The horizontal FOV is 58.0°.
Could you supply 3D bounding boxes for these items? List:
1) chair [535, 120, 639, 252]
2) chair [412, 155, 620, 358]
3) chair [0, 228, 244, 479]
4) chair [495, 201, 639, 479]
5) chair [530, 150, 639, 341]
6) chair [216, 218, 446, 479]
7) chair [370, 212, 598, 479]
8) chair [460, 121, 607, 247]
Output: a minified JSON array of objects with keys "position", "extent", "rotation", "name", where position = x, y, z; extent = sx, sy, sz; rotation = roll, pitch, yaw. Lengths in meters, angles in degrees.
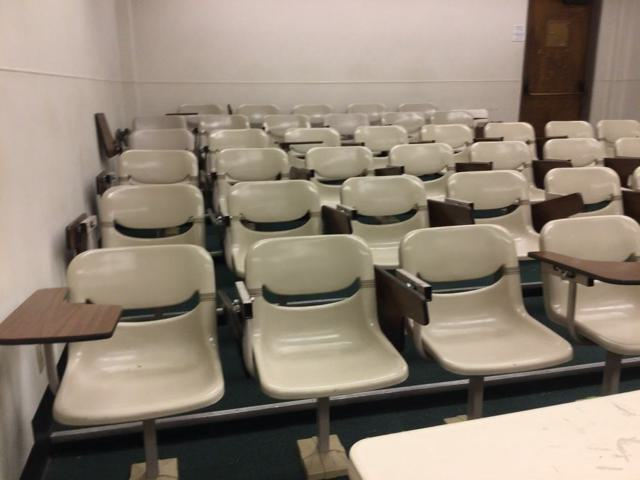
[{"position":[1.890,-0.390,3.920],"extent":[0.590,0.780,0.580],"rotation":[-7,12,-7],"name":"chair"},{"position":[0.940,0.040,2.860],"extent":[0.780,0.820,0.560],"rotation":[-7,12,-7],"name":"chair"},{"position":[-0.570,0.420,1.860],"extent":[0.560,0.760,0.650],"rotation":[-7,12,-7],"name":"chair"},{"position":[1.150,0.300,2.100],"extent":[0.740,0.750,0.700],"rotation":[-7,12,-7],"name":"chair"},{"position":[1.550,-0.010,2.990],"extent":[0.670,0.820,0.570],"rotation":[-7,12,-7],"name":"chair"},{"position":[0.020,0.400,2.000],"extent":[0.630,0.810,0.550],"rotation":[-7,12,-7],"name":"chair"},{"position":[0.560,0.340,2.090],"extent":[0.590,0.750,0.560],"rotation":[-7,12,-7],"name":"chair"},{"position":[1.370,-0.390,3.780],"extent":[0.690,0.690,0.590],"rotation":[-7,12,-7],"name":"chair"}]
